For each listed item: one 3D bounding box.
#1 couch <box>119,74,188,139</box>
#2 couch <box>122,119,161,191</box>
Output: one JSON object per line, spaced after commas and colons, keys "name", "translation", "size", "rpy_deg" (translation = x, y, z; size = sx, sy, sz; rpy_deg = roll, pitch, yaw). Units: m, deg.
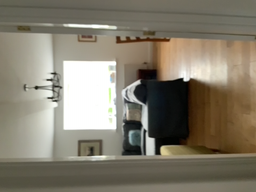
{"name": "couch", "translation": [0.330, 0.150, 4.280], "size": [2.450, 0.860, 0.920], "rpy_deg": [180, 90, -84]}
{"name": "couch", "translation": [0.280, 1.390, 5.070], "size": [0.890, 0.810, 1.570], "rpy_deg": [-179, 89, -84]}
